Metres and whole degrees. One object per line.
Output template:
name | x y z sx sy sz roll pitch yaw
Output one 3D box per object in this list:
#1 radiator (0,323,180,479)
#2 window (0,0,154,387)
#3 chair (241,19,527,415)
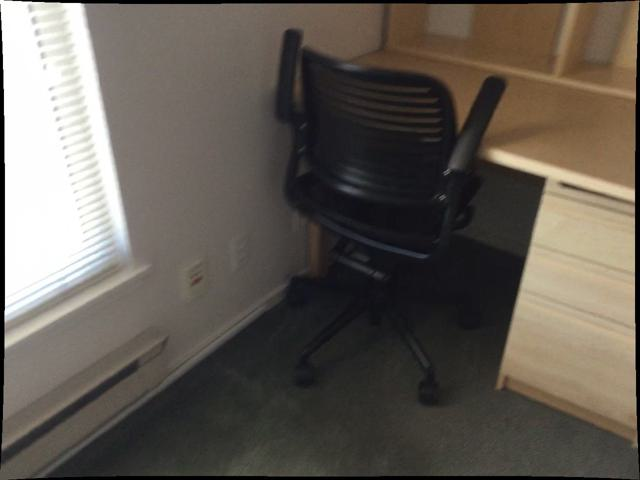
radiator | -0.749 0.571 1.320 0.100 0.260 1.010 21 37 29
window | -0.779 -0.020 1.040 0.160 0.781 0.950 21 37 29
chair | 0.150 -0.080 1.680 0.589 0.941 0.400 21 37 29
